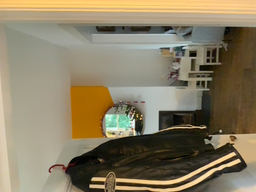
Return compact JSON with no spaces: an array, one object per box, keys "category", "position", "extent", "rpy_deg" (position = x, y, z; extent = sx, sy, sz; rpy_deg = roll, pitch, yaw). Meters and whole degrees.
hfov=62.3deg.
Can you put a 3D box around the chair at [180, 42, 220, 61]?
[{"category":"chair","position":[1.120,-0.690,3.330],"extent":[0.250,0.530,0.280],"rpy_deg":[-111,20,-80]}]
